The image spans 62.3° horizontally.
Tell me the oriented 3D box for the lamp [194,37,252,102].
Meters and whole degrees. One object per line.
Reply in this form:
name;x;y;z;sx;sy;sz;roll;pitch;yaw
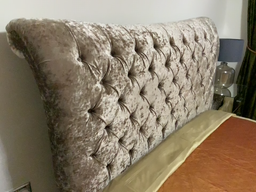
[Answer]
lamp;1.030;-0.320;2.330;0.400;0.600;0.400;16;25;39
